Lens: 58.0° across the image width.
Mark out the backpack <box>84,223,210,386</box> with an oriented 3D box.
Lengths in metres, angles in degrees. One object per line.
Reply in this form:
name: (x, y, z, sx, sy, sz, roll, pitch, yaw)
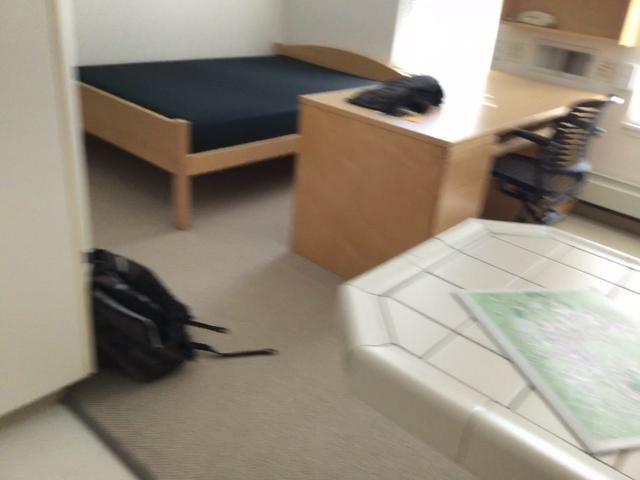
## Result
backpack: (-0.580, 0.230, 1.950, 0.210, 0.460, 0.350, -24, -5, -20)
